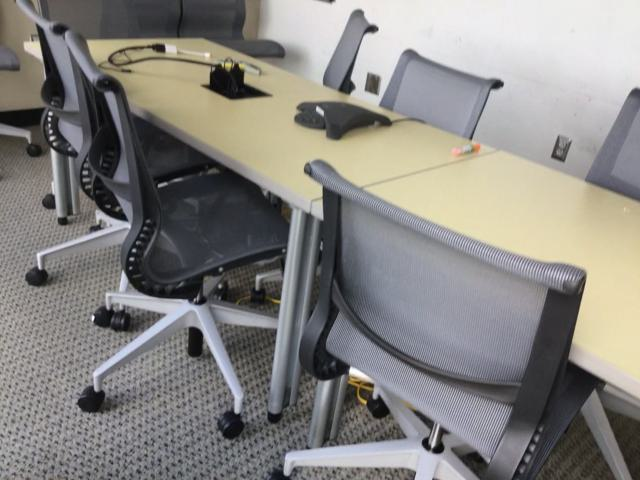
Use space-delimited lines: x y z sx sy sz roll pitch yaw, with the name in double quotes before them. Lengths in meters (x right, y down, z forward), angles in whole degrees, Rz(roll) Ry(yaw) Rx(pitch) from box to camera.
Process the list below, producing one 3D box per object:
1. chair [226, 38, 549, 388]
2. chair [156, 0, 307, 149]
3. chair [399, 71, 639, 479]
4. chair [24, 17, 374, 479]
"chair" 0.160 -0.140 1.950 0.670 0.890 0.640 -11 34 -33
"chair" -0.560 -1.140 3.530 0.650 0.940 0.580 -16 37 -39
"chair" 0.750 0.160 1.450 0.590 0.960 0.700 -16 37 -39
"chair" -0.350 -0.010 1.520 0.610 0.920 0.690 -1 30 -19
